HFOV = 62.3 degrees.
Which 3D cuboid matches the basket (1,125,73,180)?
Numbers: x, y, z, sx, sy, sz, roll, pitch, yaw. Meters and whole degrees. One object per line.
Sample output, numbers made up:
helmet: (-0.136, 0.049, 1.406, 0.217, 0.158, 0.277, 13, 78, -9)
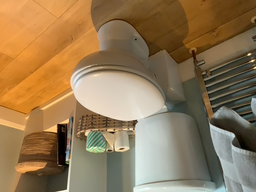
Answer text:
basket: (-0.710, 0.470, 1.700, 0.320, 0.300, 0.380, -24, 144, 31)
